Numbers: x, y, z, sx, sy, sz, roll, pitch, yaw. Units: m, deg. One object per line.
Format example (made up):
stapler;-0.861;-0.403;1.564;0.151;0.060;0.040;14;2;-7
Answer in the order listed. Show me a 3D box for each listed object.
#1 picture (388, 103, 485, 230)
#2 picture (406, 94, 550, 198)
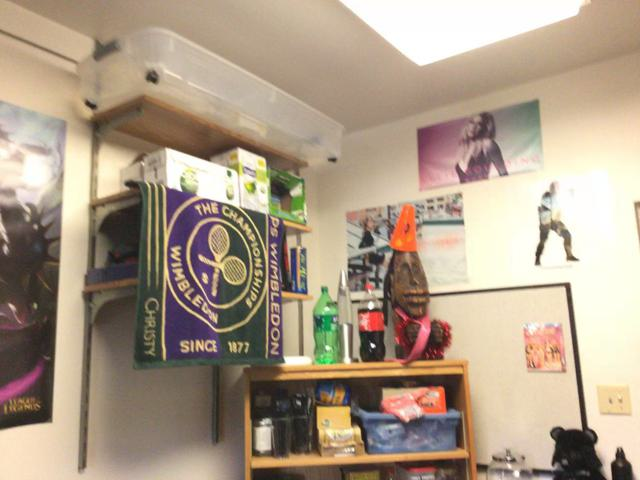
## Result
picture;0.540;-0.340;2.740;0.420;0.520;0.070;-10;-16;33
picture;0.700;-0.410;2.630;0.600;0.310;0.130;-10;-16;33
